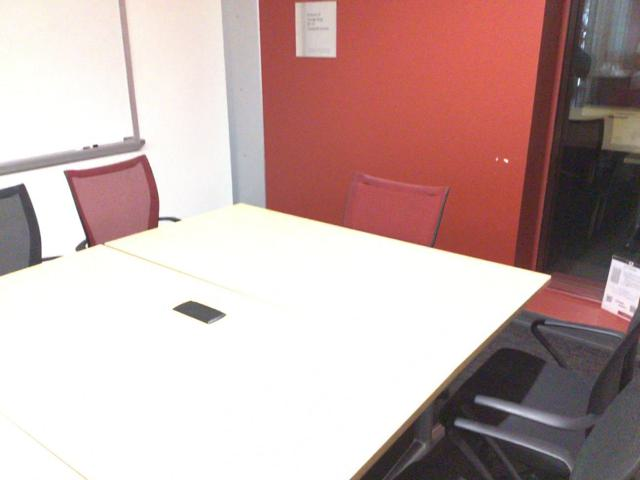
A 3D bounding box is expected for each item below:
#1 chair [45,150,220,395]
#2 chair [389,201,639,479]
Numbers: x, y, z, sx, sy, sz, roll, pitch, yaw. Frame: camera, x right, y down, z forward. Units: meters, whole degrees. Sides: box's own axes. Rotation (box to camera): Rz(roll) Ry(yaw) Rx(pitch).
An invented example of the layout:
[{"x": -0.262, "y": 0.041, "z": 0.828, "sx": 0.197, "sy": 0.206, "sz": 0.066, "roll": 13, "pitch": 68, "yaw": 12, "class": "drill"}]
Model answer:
[{"x": -0.810, "y": 0.110, "z": 2.590, "sx": 0.460, "sy": 0.900, "sz": 0.500, "roll": 16, "pitch": 24, "yaw": 36, "class": "chair"}, {"x": 0.630, "y": 0.440, "z": 1.680, "sx": 0.580, "sy": 0.900, "sz": 0.590, "roll": 18, "pitch": 25, "yaw": 35, "class": "chair"}]
